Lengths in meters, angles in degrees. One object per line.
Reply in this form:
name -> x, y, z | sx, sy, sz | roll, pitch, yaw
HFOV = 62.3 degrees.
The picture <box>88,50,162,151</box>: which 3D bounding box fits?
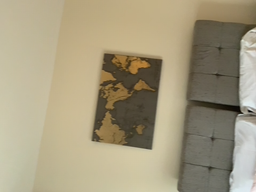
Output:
picture -> -0.030, 0.030, 2.110 | 0.040, 0.610, 0.920 | 53, -135, -83
